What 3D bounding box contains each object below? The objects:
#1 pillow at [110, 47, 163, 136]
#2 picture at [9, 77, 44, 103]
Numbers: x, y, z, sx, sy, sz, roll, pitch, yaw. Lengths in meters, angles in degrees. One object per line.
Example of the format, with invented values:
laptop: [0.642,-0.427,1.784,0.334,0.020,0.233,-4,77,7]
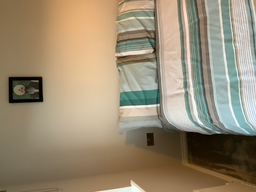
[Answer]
pillow: [0.090,-0.020,2.220,0.260,0.480,0.830,-12,77,43]
picture: [-1.020,-0.060,2.140,0.040,0.320,0.260,165,104,-72]
